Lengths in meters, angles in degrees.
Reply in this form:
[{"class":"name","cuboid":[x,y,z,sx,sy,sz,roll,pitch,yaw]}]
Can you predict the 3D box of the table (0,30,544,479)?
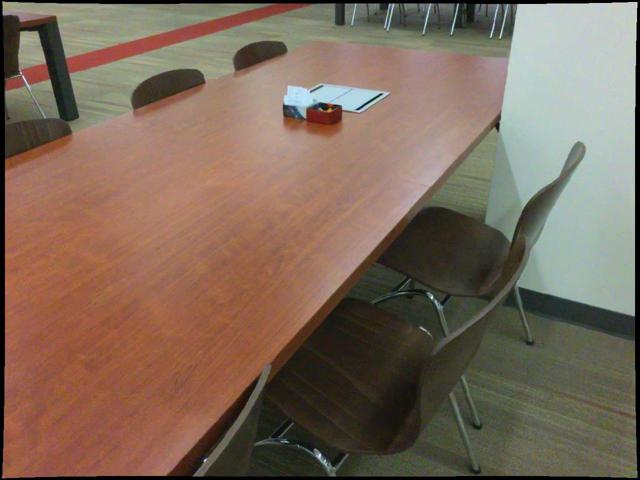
[{"class":"table","cuboid":[-0.299,0.080,1.910,1.397,0.822,2.930,14,35,24]}]
